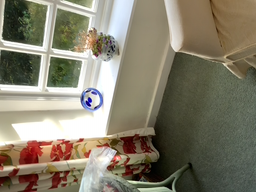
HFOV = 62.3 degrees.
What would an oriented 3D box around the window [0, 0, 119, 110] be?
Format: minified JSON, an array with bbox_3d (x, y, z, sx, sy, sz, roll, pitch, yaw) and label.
[{"bbox_3d":[-0.690,-0.350,1.100,0.350,1.190,0.770,29,110,49],"label":"window"}]
